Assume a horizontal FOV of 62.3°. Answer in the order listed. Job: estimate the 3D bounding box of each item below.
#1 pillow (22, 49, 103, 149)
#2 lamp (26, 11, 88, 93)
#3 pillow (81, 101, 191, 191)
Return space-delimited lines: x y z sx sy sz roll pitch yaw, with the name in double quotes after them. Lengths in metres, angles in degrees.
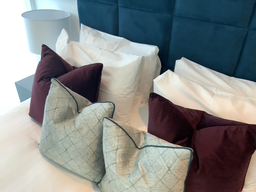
-0.380 0.010 1.170 0.340 0.380 0.220 38 37 21 "pillow"
-0.570 -0.370 1.780 0.340 0.560 0.260 24 39 29 "lamp"
0.010 0.280 0.910 0.350 0.350 0.170 36 38 21 "pillow"
